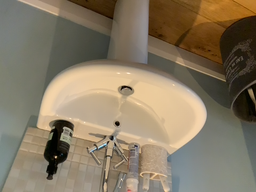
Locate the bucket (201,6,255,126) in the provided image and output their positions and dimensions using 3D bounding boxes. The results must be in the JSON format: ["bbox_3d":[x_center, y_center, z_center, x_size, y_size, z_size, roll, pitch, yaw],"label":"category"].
[{"bbox_3d":[0.720,-0.160,1.200,0.420,0.490,0.440,4,142,2],"label":"bucket"}]
